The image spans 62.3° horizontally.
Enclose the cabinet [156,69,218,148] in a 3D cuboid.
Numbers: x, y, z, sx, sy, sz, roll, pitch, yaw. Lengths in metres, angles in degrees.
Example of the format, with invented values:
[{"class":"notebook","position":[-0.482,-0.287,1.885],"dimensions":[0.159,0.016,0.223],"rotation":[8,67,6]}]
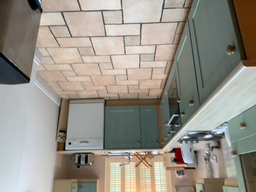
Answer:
[{"class":"cabinet","position":[0.760,0.230,3.040],"dimensions":[0.580,0.890,0.920],"rotation":[-2,160,2]}]
